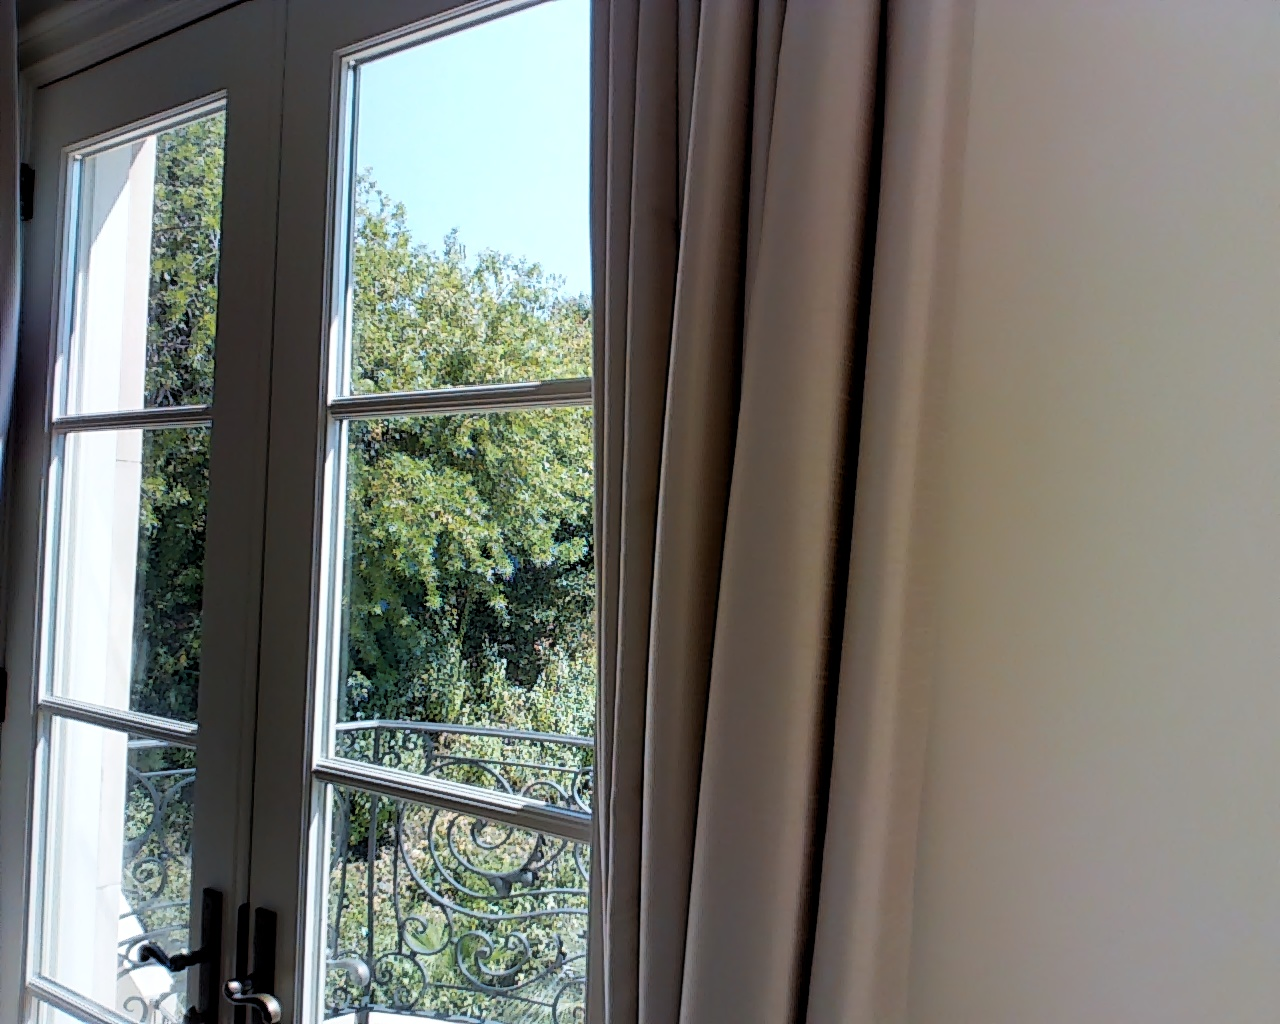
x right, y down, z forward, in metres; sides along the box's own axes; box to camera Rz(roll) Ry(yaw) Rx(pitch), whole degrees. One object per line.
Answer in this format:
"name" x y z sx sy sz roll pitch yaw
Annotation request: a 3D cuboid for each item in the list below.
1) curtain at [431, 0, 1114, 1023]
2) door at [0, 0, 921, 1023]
"curtain" 0.110 0.290 0.900 0.440 2.671 0.340 1 -2 35
"door" -0.540 0.250 1.520 1.830 2.621 0.170 1 -2 35
